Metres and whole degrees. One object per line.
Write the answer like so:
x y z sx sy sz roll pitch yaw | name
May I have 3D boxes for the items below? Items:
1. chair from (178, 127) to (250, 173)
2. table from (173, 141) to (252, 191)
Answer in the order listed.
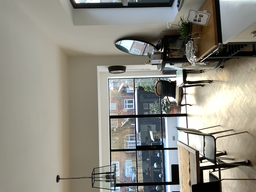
1.230 0.770 3.130 0.460 0.840 0.580 104 165 -84 | chair
1.260 1.790 3.280 0.990 0.800 2.010 109 160 -85 | table
